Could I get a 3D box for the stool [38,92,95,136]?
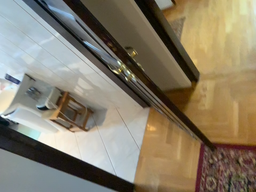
[{"bbox_3d":[-0.690,0.220,2.440,0.320,0.460,0.310,-7,55,37],"label":"stool"}]
